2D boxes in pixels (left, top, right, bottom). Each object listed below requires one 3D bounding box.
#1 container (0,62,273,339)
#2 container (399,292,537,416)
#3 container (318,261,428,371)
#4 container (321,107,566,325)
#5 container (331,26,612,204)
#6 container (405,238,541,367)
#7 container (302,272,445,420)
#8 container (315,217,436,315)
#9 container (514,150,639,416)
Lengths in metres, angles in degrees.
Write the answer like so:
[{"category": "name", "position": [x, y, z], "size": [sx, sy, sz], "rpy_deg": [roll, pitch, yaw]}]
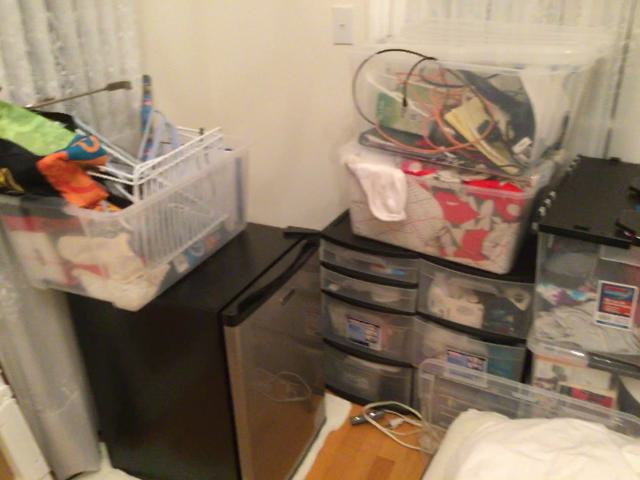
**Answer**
[{"category": "container", "position": [-0.450, -0.150, 1.410], "size": [0.420, 0.480, 0.570], "rpy_deg": [7, 25, 22]}, {"category": "container", "position": [0.440, 0.330, 1.730], "size": [0.360, 0.230, 0.200], "rpy_deg": [7, 25, 22]}, {"category": "container", "position": [0.160, 0.230, 1.770], "size": [0.320, 0.290, 0.070], "rpy_deg": [7, 25, 22]}, {"category": "container", "position": [0.350, -0.100, 1.640], "size": [0.580, 0.460, 0.370], "rpy_deg": [7, 25, 22]}, {"category": "container", "position": [0.400, -0.360, 1.510], "size": [0.590, 0.330, 0.500], "rpy_deg": [7, 25, 22]}, {"category": "container", "position": [0.420, 0.170, 1.620], "size": [0.340, 0.300, 0.100], "rpy_deg": [7, 25, 22]}, {"category": "container", "position": [0.180, 0.340, 1.920], "size": [0.410, 0.350, 0.220], "rpy_deg": [7, 25, 22]}, {"category": "container", "position": [0.170, 0.070, 1.760], "size": [0.320, 0.200, 0.180], "rpy_deg": [7, 25, 22]}, {"category": "container", "position": [0.750, 0.070, 1.430], "size": [0.420, 0.420, 0.590], "rpy_deg": [7, 25, 22]}]
